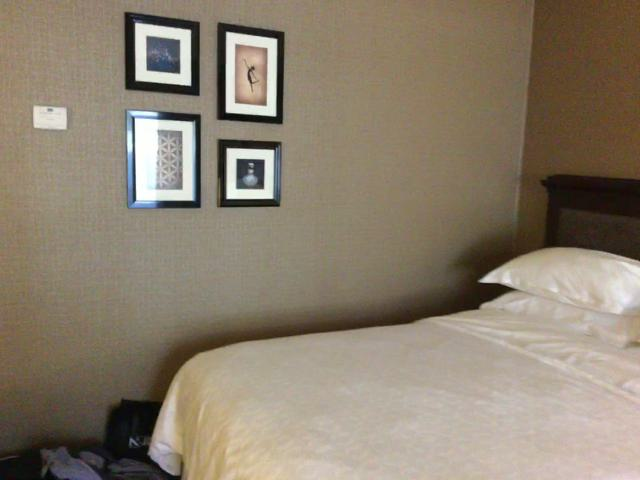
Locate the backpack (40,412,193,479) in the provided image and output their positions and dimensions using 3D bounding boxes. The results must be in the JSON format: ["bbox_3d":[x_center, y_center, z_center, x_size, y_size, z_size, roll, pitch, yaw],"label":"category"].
[{"bbox_3d":[-0.830,0.950,2.320,0.530,0.310,0.450,0,4,-26],"label":"backpack"}]

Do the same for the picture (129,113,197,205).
[{"bbox_3d":[-0.670,-0.340,2.470,0.270,0.370,0.040,0,4,-26],"label":"picture"}]

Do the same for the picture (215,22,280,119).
[{"bbox_3d":[-0.320,-0.750,2.580,0.280,0.380,0.040,0,4,-26],"label":"picture"}]

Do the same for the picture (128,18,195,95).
[{"bbox_3d":[-0.660,-0.760,2.410,0.260,0.270,0.040,0,4,-26],"label":"picture"}]
